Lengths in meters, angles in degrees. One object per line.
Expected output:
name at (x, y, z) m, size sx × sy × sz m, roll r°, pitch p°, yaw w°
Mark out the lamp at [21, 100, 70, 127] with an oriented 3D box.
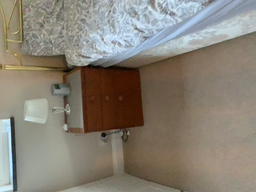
lamp at (-0.720, 0.150, 1.860) m, size 0.210 × 0.350 × 0.200 m, roll -10°, pitch 83°, yaw 54°
